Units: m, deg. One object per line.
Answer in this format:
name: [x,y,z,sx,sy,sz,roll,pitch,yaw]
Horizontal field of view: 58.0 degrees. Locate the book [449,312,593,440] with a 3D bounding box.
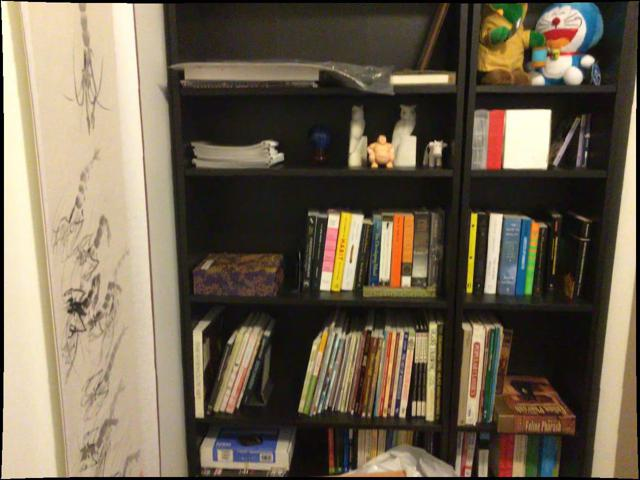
book: [0.619,0.421,1.840,0.359,0.291,0.280,1,12,5]

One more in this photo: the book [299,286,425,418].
book: [0.140,0.351,1.910,0.369,0.291,0.380,1,12,5]

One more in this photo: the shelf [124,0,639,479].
shelf: [0.200,0.140,1.670,1.267,2.015,0.480,1,12,5]

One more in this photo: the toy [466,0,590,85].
toy: [0.549,-0.551,1.550,0.269,0.251,0.160,1,12,5]

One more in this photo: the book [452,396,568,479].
book: [0.599,0.642,1.860,0.299,0.170,0.230,1,12,5]

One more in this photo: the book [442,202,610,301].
book: [0.609,0.020,1.800,0.399,0.221,0.380,1,12,5]

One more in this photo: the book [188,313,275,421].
book: [-0.269,0.391,1.810,0.219,0.261,0.210,1,12,5]

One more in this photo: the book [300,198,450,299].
book: [0.170,0.010,1.830,0.419,0.231,0.390,1,12,5]
